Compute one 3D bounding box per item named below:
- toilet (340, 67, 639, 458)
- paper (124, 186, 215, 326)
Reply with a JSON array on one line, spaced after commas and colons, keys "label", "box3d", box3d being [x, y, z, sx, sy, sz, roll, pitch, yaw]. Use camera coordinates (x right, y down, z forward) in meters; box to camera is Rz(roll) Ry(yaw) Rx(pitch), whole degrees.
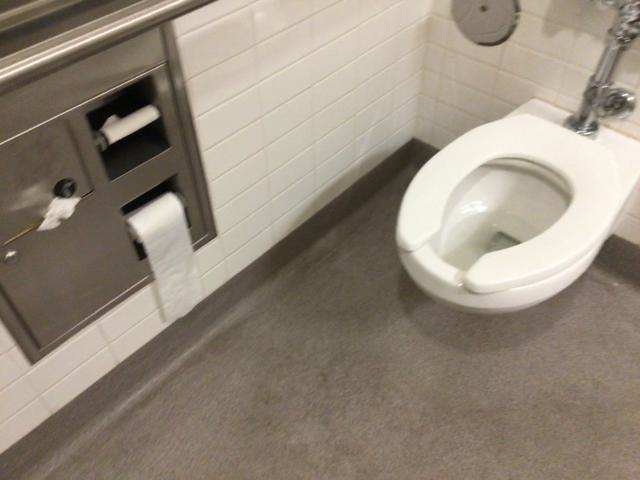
[{"label": "toilet", "box3d": [0.400, 0.030, 1.300, 0.390, 0.500, 0.630, 34, 56, 29]}, {"label": "paper", "box3d": [-0.290, 0.040, 1.150, 0.050, 0.290, 0.110, 34, 56, 29]}]
